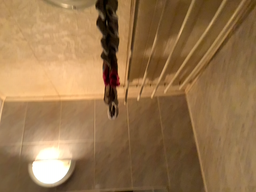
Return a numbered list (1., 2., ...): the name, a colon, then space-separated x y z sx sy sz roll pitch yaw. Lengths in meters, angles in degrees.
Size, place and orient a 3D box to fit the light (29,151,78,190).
1. light: -0.490 0.500 1.430 0.280 0.230 0.090 -1 -24 -4
